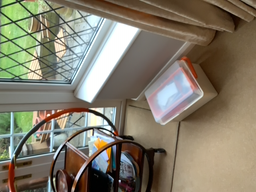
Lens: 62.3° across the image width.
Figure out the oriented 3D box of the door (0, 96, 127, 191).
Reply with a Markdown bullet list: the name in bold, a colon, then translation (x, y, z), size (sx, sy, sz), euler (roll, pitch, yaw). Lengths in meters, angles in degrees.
- **door**: translation (-0.940, 0.620, 1.570), size (0.210, 2.160, 1.200), euler (8, 97, 50)
